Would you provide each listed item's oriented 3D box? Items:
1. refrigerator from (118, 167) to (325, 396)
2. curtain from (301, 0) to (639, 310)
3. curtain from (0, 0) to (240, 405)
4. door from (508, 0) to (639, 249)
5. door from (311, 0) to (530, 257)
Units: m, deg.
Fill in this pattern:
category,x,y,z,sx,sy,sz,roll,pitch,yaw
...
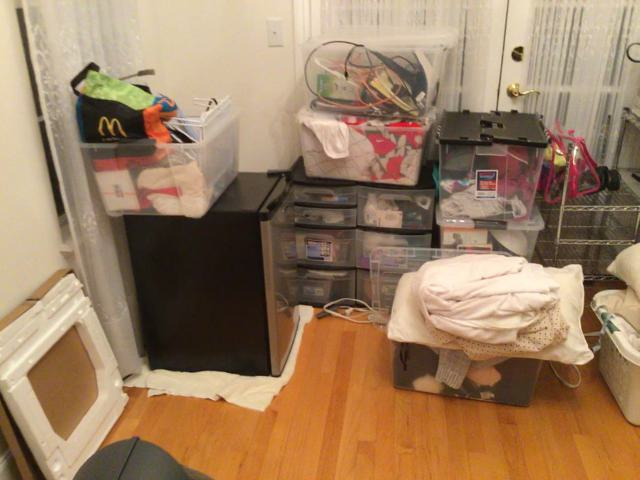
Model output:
category,x,y,z,sx,sy,sz,roll,pitch,yaw
refrigerator,-0.320,0.130,2.210,0.550,0.690,0.530,0,22,12
curtain,0.790,-0.490,2.350,1.620,1.520,0.360,0,22,12
curtain,-0.650,-0.210,2.130,0.330,1.390,0.740,0,22,12
door,1.220,-0.610,2.320,0.820,1.380,0.050,0,22,12
door,0.430,-0.610,2.530,0.870,1.430,0.120,0,22,12
